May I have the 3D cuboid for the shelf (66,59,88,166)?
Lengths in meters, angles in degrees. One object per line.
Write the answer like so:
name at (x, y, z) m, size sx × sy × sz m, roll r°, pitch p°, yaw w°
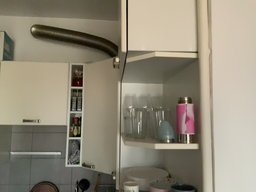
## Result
shelf at (-0.480, 0.150, 2.040) m, size 0.120 × 0.950 × 0.280 m, roll 2°, pitch -6°, yaw -5°
